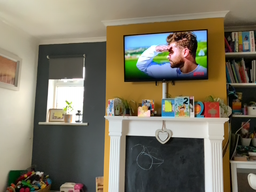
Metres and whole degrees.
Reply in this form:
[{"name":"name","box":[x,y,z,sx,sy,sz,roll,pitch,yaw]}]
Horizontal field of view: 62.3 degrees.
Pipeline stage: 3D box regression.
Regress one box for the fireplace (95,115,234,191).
[{"name":"fireplace","box":[0.360,0.810,2.270,1.320,1.180,0.440,0,-6,13]}]
